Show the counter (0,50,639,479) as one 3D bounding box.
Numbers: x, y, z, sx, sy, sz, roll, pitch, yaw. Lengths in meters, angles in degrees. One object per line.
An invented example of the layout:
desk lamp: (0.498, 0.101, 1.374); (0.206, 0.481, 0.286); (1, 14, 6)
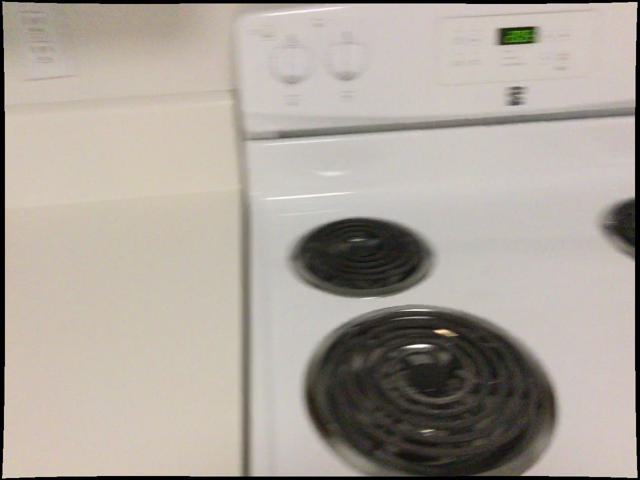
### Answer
counter: (0.289, 0.010, 0.710); (1.626, 0.270, 0.680); (-5, 33, -5)
